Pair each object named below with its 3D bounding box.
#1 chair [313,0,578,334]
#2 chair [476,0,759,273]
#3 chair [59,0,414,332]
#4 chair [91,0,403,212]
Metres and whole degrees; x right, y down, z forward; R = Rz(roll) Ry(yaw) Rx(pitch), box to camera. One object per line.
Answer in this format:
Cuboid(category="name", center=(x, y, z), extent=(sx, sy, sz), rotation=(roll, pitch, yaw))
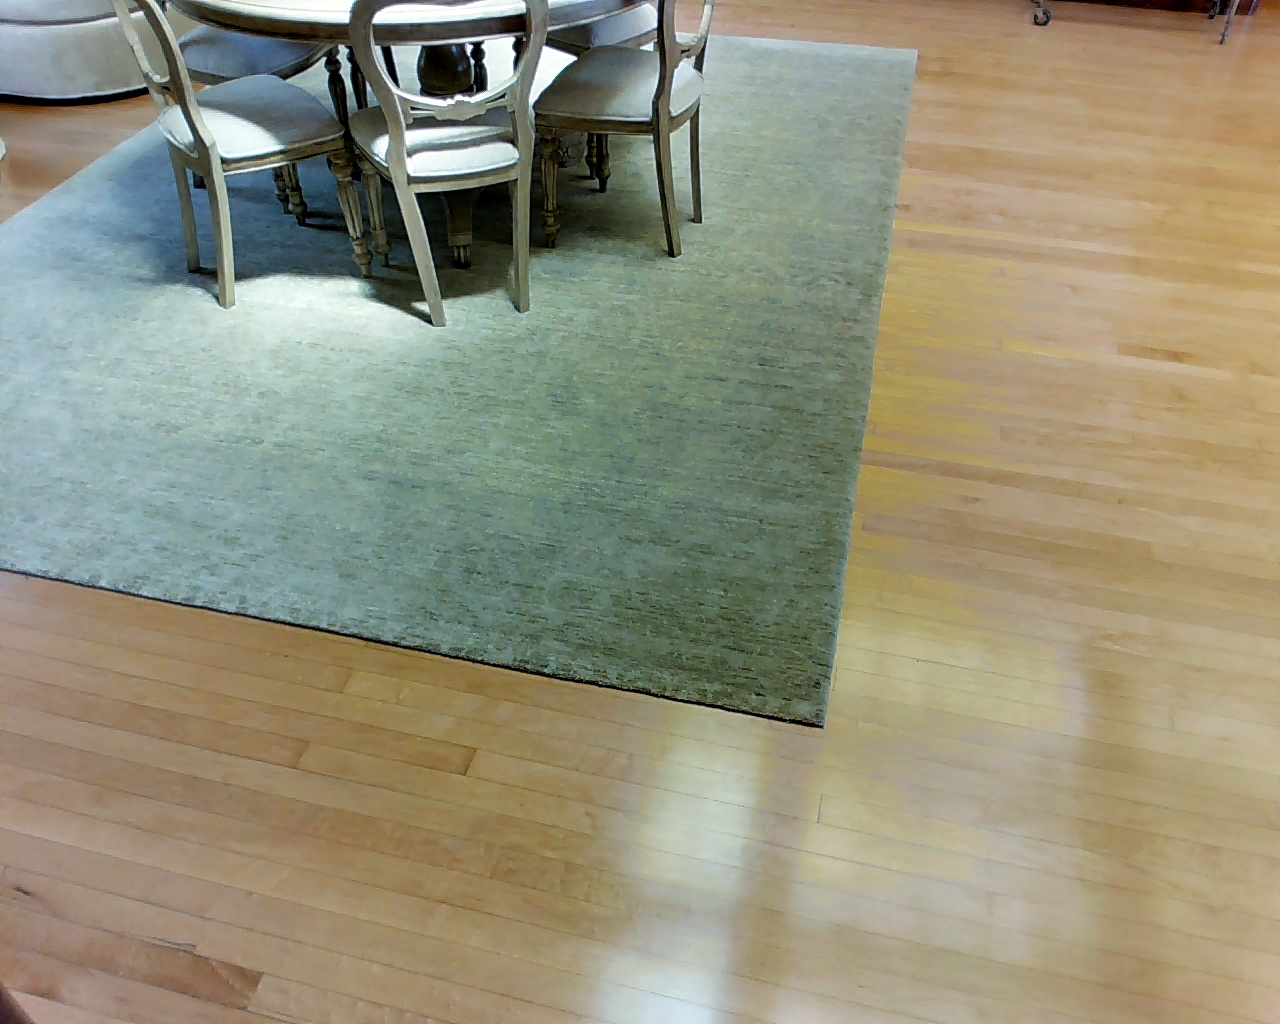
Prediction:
Cuboid(category="chair", center=(-0.500, -1.020, 2.780), extent=(0.550, 0.910, 0.500), rotation=(-11, 43, -13))
Cuboid(category="chair", center=(-0.040, -1.300, 3.100), extent=(0.620, 0.920, 0.630), rotation=(12, 43, 12))
Cuboid(category="chair", center=(-1.070, -1.100, 2.860), extent=(0.610, 0.920, 0.590), rotation=(-25, 48, -26))
Cuboid(category="chair", center=(-1.210, -1.530, 3.340), extent=(0.630, 0.920, 0.590), rotation=(10, 43, 10))
